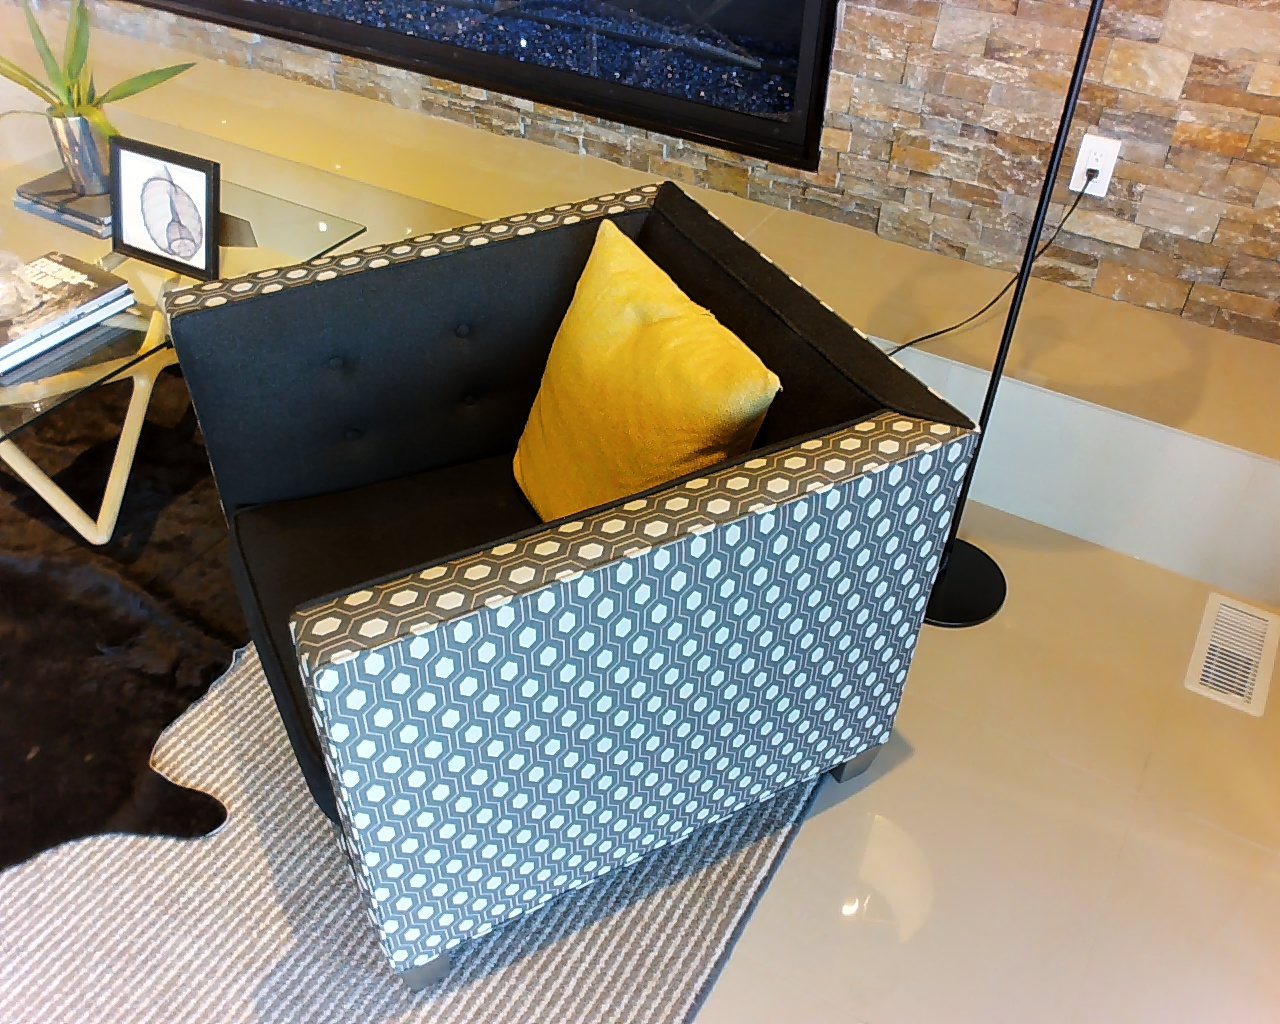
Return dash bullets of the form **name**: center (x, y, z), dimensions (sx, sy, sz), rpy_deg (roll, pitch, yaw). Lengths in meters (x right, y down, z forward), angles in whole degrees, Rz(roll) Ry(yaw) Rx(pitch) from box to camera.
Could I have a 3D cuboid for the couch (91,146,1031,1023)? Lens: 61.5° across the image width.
- **couch**: center (-0.150, 0.060, 1.690), dimensions (0.950, 0.780, 0.870), rpy_deg (-21, 47, -23)
